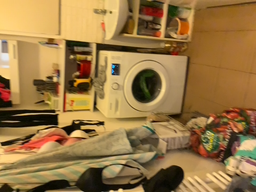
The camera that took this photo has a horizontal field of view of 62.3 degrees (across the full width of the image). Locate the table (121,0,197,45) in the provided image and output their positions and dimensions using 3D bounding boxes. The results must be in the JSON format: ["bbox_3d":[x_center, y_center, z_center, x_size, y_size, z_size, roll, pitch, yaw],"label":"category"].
[{"bbox_3d":[0.300,-0.770,2.100,0.320,0.620,0.450,-149,62,-63],"label":"table"}]

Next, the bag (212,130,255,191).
[{"bbox_3d":[0.780,0.390,1.230,0.260,0.430,0.290,-137,51,-59],"label":"bag"}]
